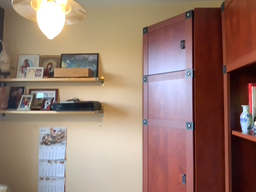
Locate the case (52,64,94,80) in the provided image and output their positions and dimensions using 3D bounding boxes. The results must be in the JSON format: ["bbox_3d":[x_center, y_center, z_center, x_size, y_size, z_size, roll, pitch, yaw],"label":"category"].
[{"bbox_3d":[-0.570,-0.250,2.220,0.410,0.140,0.110,1,-3,3],"label":"case"}]
